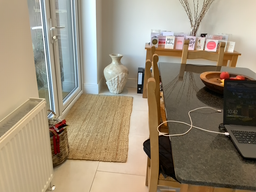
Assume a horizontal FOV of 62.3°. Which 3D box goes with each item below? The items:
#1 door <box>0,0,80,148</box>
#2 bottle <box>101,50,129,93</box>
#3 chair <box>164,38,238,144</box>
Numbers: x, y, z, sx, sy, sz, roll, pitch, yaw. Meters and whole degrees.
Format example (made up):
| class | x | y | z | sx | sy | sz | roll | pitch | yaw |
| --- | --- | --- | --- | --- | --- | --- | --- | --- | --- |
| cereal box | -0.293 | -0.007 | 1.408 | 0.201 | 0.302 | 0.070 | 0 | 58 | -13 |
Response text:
| class | x | y | z | sx | sy | sz | roll | pitch | yaw |
| --- | --- | --- | --- | --- | --- | --- | --- | --- | --- |
| door | -0.870 | -0.740 | 2.300 | 0.070 | 2.080 | 1.480 | 7 | 23 | 8 |
| bottle | -0.200 | -0.390 | 3.350 | 0.350 | 0.560 | 0.400 | 6 | 23 | 5 |
| chair | 0.700 | -0.060 | 2.240 | 0.470 | 0.980 | 0.470 | 5 | 23 | 3 |
